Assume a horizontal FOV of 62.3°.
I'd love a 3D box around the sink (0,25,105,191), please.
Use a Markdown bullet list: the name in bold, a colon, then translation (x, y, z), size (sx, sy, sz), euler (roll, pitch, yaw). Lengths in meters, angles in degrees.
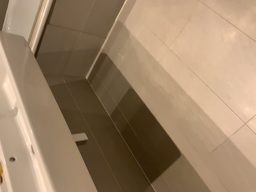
- **sink**: translation (-0.440, 0.190, 0.900), size (1.030, 0.160, 0.470), euler (54, 125, 30)
